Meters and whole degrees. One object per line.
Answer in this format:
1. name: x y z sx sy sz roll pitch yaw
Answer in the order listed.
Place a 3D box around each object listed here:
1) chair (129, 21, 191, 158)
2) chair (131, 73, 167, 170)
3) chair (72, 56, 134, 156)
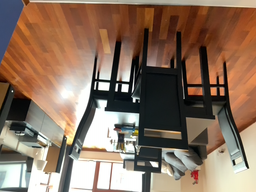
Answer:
1. chair: 0.250 -0.050 1.840 0.350 1.040 0.500 7 154 -5
2. chair: 0.250 0.310 2.570 0.350 1.050 0.490 4 155 1
3. chair: -0.220 0.090 2.280 0.500 0.990 0.350 4 155 1
